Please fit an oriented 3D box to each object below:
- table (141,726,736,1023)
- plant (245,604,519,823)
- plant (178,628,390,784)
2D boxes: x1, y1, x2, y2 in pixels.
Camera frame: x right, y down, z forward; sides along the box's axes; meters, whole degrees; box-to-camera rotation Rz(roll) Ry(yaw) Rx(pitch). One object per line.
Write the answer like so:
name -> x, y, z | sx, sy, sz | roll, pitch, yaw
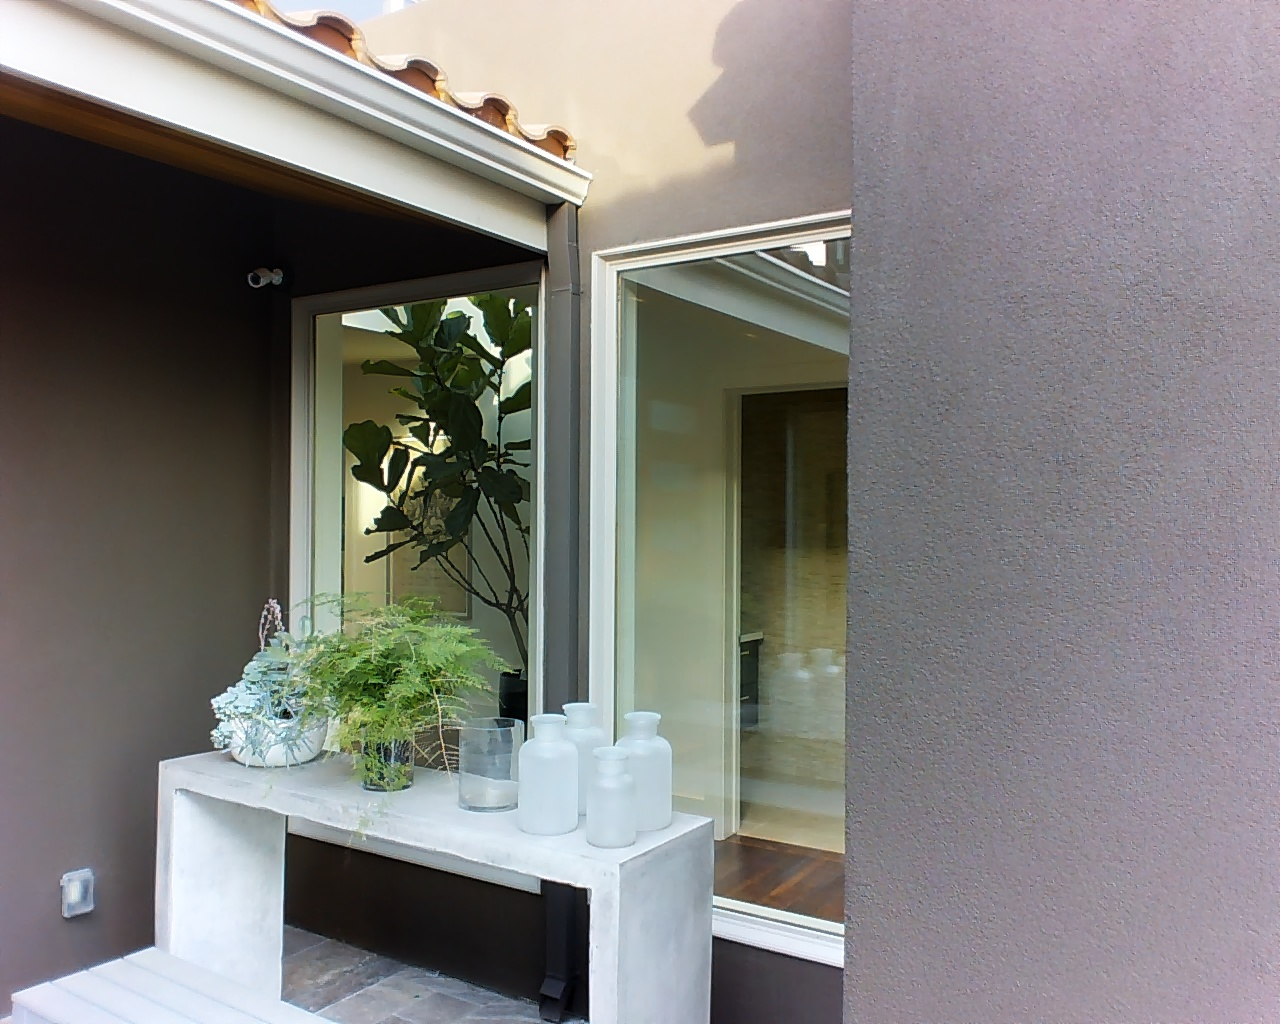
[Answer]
table -> -0.600, 1.120, 2.820 | 1.670, 0.860, 0.460 | 0, -1, 33
plant -> -0.670, 0.490, 2.790 | 0.580, 0.450, 0.400 | 0, -1, 33
plant -> -1.030, 0.540, 3.110 | 0.490, 0.350, 0.360 | 0, -1, 35
